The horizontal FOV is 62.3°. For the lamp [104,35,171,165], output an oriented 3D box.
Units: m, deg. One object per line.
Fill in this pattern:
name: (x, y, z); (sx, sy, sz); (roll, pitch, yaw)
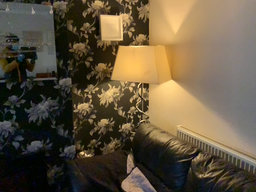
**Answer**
lamp: (0.120, 0.010, 2.320); (0.560, 1.250, 0.460); (5, 12, 27)
